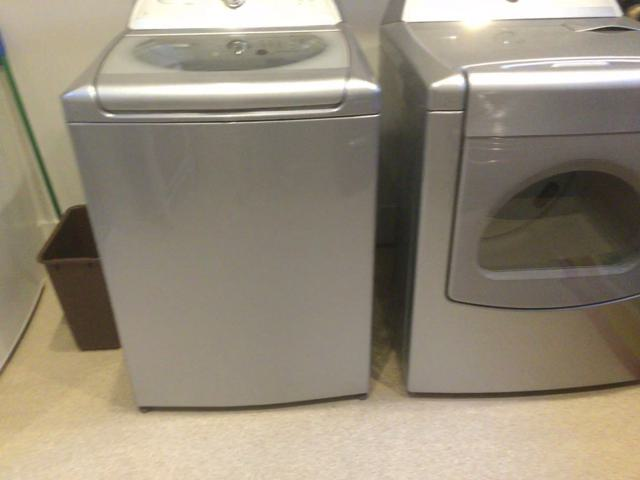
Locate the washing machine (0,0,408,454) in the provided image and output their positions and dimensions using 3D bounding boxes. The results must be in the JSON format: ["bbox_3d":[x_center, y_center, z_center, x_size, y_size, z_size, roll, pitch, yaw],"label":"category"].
[{"bbox_3d":[-0.220,-0.120,1.610,0.710,1.100,0.760,-4,30,-4],"label":"washing machine"}]
